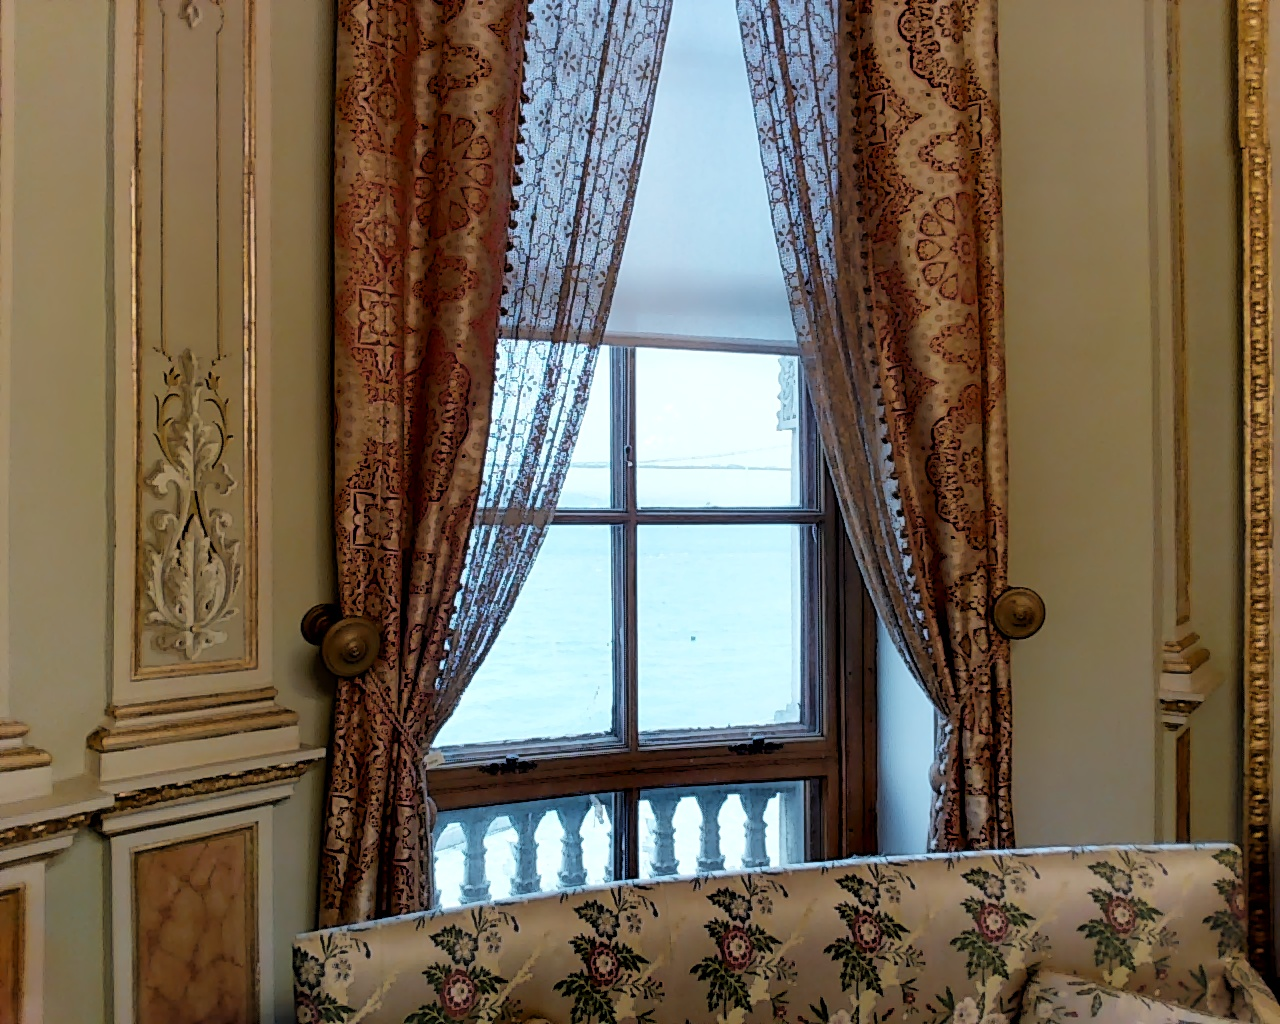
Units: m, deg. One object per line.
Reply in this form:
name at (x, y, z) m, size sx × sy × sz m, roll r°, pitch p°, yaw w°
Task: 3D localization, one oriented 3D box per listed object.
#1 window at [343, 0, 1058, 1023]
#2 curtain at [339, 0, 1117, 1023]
window at (0.250, -0.760, 2.760) m, size 1.949 × 4.062 × 0.040 m, roll 0°, pitch -1°, yaw -20°
curtain at (0.300, -0.810, 2.760) m, size 2.049 × 4.952 × 0.260 m, roll 0°, pitch -1°, yaw -20°
